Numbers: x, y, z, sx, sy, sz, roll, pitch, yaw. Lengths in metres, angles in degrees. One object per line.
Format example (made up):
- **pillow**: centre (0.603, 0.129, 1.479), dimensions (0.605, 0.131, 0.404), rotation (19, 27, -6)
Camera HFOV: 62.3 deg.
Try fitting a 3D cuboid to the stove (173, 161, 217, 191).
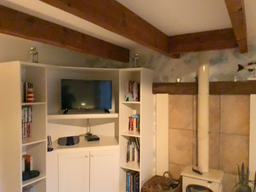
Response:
- **stove**: centre (0.820, 1.160, 2.580), dimensions (0.440, 0.560, 0.390), rotation (1, 2, 28)
